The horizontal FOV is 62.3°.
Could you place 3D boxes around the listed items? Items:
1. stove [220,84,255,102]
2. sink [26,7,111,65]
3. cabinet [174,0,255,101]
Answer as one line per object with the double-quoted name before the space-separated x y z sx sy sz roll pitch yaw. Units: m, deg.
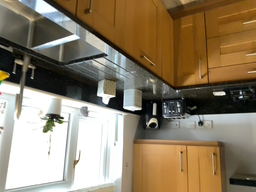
"stove" 1.180 -0.030 1.880 0.600 0.030 0.550 -5 166 30
"sink" -0.340 -0.320 1.230 0.390 0.150 0.260 -5 166 30
"cabinet" 1.180 -0.500 1.960 1.350 0.910 0.600 -5 166 30
